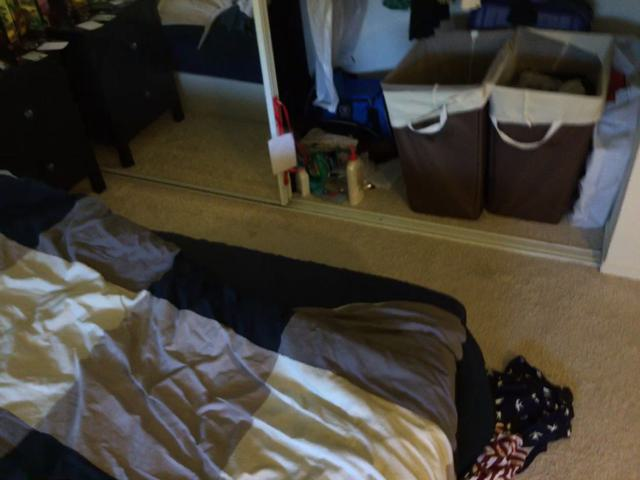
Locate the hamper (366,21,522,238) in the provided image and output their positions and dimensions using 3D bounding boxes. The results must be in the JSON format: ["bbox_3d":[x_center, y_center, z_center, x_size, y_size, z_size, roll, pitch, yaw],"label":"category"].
[{"bbox_3d":[0.470,-0.430,2.160,0.410,0.570,0.550,10,41,21],"label":"hamper"}]

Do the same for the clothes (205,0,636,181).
[{"bbox_3d":[0.340,-1.100,1.970,1.390,1.480,0.700,10,41,21],"label":"clothes"}]

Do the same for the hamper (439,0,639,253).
[{"bbox_3d":[0.780,-0.460,2.040,0.560,0.710,0.600,10,41,21],"label":"hamper"}]
